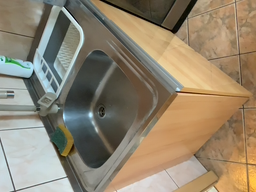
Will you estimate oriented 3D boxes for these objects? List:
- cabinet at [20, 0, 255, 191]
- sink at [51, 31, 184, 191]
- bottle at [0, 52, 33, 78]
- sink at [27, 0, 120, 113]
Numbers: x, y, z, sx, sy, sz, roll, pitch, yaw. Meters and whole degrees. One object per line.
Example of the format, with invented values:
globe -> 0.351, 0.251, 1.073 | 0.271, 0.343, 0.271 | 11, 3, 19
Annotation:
cabinet -> 0.040, -0.070, 1.150 | 0.800, 0.830, 0.550 | 49, 120, 32
sink -> -0.080, 0.050, 0.800 | 0.380, 0.160, 0.410 | 49, 120, 32
bottle -> -0.580, -0.150, 1.000 | 0.100, 0.210, 0.070 | 49, 120, 32
sink -> -0.280, -0.190, 0.990 | 0.340, 0.160, 0.410 | 49, 120, 32
